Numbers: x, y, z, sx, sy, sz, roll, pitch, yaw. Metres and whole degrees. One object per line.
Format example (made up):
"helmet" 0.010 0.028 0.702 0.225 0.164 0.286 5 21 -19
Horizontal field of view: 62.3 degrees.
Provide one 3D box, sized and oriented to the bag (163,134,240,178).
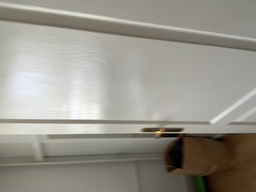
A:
"bag" 0.690 0.600 2.100 0.520 0.470 0.260 116 152 -53
